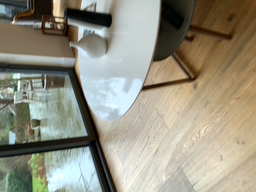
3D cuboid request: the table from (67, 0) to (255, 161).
[{"bbox_3d":[0.020,-0.400,1.410,1.080,0.460,1.130,58,138,41],"label":"table"}]
